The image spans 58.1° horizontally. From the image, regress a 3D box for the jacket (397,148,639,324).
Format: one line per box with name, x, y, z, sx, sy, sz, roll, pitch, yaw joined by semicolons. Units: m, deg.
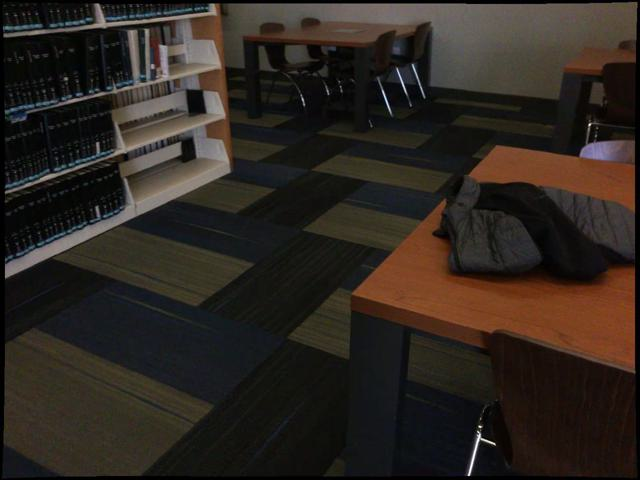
jacket;0.499;-0.050;1.360;0.489;0.150;0.500;11;28;23
